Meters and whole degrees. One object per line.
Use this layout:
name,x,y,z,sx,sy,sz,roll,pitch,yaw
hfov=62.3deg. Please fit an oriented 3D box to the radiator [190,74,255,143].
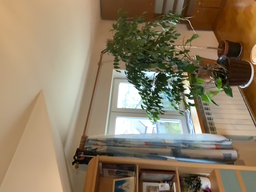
radiator,1.280,0.130,2.810,0.140,0.750,0.980,95,178,-51

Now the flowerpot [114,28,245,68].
flowerpot,0.750,-0.750,3.330,0.340,1.920,0.400,94,178,-54
